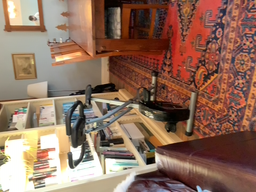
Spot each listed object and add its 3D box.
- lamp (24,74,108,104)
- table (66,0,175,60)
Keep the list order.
[{"bbox_3d":[-1.150,-0.160,4.090,0.340,1.490,0.380,-138,46,-63],"label":"lamp"},{"bbox_3d":[-0.270,-1.140,2.590,1.920,0.770,1.040,-137,45,-62],"label":"table"}]
